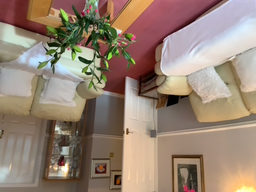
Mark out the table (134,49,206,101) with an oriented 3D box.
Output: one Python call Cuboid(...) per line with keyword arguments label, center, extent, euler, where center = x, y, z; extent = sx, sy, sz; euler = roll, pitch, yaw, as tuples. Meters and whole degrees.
Cuboid(label="table", center=(0.630, -0.290, 3.560), extent=(0.530, 0.420, 1.190), euler=(10, 162, -28))
